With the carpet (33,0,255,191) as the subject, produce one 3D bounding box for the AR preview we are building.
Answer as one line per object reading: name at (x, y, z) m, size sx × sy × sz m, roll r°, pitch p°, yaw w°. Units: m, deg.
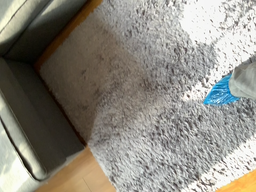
carpet at (0.370, -0.250, 1.090) m, size 1.790 × 0.020 × 1.250 m, roll -42°, pitch 78°, yaw 16°
